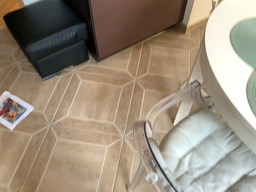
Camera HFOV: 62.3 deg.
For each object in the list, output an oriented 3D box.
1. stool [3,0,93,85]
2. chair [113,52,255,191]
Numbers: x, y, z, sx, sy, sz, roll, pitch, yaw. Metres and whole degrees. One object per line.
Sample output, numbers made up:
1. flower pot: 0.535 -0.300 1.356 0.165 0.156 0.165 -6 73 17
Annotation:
1. stool: -0.600 -0.460 1.660 0.430 0.390 0.480 -28 60 -20
2. chair: 0.260 0.330 0.860 0.460 0.800 0.420 -28 60 -19
